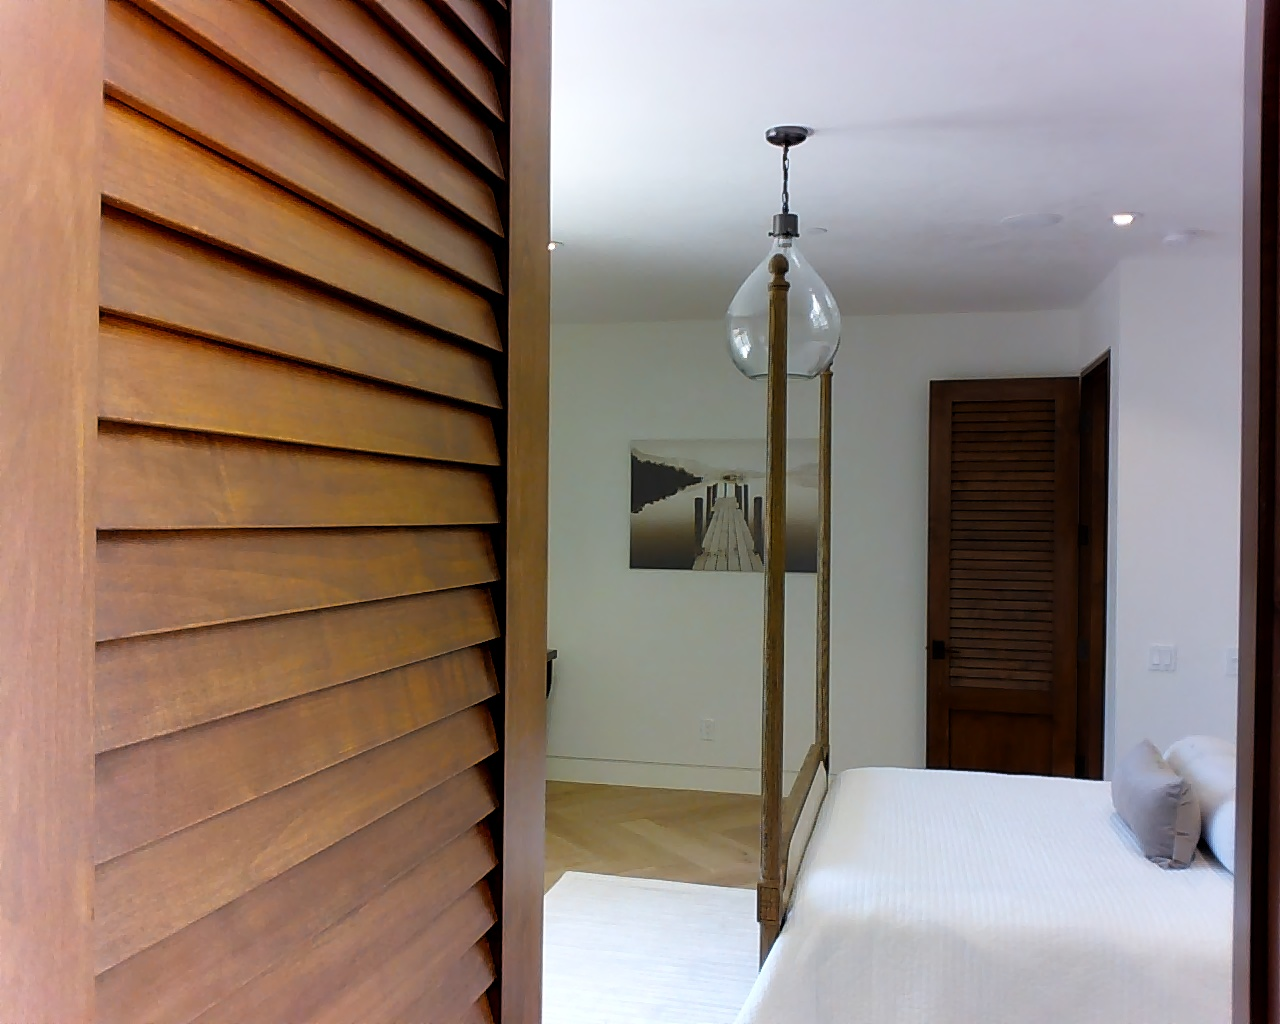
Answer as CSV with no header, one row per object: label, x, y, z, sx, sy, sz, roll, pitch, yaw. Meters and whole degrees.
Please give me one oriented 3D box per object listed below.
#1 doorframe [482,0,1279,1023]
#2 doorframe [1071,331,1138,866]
doorframe,0.260,0.410,1.130,0.850,2.460,0.140,1,0,14
doorframe,2.340,0.400,5.450,0.130,2.480,0.940,1,0,14
